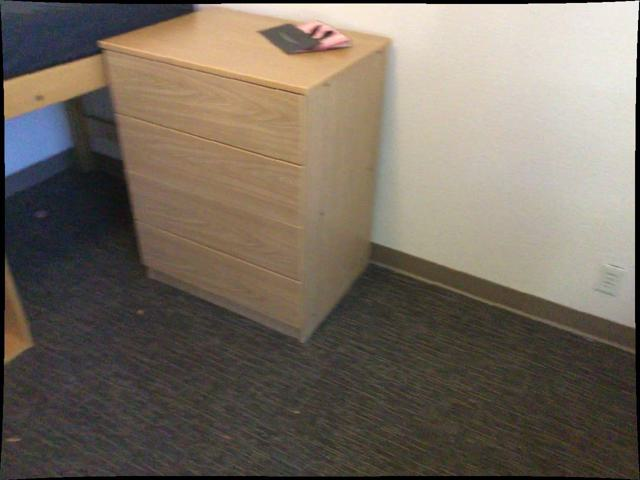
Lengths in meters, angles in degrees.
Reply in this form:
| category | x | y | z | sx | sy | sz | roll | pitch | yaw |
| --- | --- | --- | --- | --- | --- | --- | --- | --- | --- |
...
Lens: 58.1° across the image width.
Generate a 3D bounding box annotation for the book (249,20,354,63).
| category | x | y | z | sx | sy | sz | roll | pitch | yaw |
| --- | --- | --- | --- | --- | --- | --- | --- | --- | --- |
| book | -0.070 | -0.671 | 1.930 | 0.270 | 0.040 | 0.330 | -8 | 36 | -15 |
